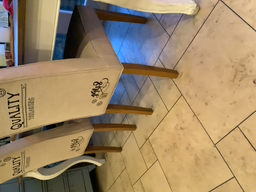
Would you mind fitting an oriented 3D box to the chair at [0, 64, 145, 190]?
[{"bbox_3d":[-0.500,0.180,1.620,0.460,0.970,0.700,-62,41,42],"label":"chair"}]

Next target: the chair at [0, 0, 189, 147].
[{"bbox_3d":[-0.290,-0.170,1.220,0.430,0.970,0.670,-62,41,42],"label":"chair"}]
